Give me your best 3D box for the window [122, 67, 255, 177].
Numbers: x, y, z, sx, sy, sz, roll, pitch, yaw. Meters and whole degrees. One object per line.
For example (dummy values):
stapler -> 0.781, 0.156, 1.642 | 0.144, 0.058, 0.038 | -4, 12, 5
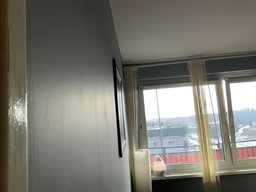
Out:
window -> 1.510, 0.360, 3.450 | 3.090, 1.580, 0.110 | -4, -7, -1
